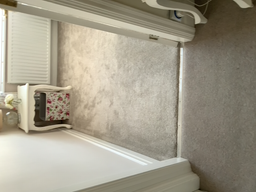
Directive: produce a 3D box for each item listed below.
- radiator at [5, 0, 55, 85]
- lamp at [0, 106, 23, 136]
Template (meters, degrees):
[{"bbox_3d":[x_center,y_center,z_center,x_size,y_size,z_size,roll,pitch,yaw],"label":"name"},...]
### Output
[{"bbox_3d":[-1.440,-0.820,3.150,0.170,0.660,1.280,1,91,52],"label":"radiator"},{"bbox_3d":[-1.690,0.320,2.770,0.390,0.510,0.360,-4,87,52],"label":"lamp"}]
